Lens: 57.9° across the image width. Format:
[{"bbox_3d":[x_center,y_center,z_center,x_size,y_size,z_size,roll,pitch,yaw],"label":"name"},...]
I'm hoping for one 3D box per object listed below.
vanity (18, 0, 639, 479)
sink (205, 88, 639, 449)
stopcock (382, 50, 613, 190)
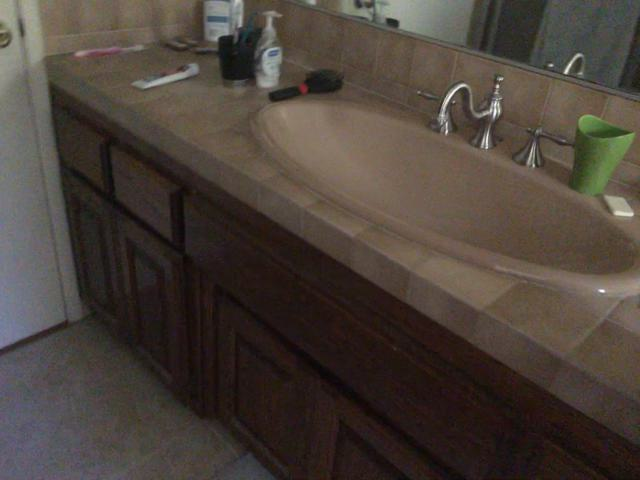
[{"bbox_3d":[0.300,0.250,1.050,2.360,1.010,0.580,30,36,35],"label":"vanity"},{"bbox_3d":[0.200,-0.050,1.040,0.890,0.180,0.340,30,36,35],"label":"sink"},{"bbox_3d":[0.320,-0.240,1.080,0.330,0.140,0.210,30,36,35],"label":"stopcock"}]
